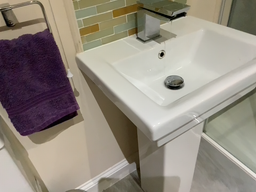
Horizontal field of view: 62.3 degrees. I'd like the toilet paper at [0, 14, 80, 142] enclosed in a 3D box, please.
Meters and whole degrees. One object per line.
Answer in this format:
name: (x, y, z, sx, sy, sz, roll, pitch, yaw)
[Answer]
toilet paper: (-0.280, -0.040, 0.630, 0.190, 0.340, 0.080, -24, 44, -22)
